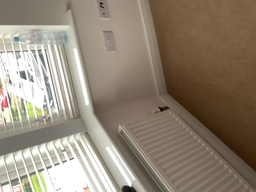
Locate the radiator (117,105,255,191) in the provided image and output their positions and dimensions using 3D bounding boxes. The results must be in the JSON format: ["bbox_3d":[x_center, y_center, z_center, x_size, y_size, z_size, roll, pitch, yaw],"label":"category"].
[{"bbox_3d":[0.350,0.350,1.240,0.690,0.540,0.080,47,135,36],"label":"radiator"}]
